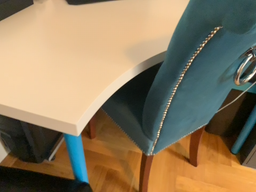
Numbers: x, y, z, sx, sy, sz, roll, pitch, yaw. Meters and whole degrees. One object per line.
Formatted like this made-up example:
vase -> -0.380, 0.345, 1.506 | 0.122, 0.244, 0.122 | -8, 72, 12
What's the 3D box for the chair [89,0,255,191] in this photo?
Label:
chair -> 0.170, -0.030, 0.840 | 0.420, 1.060, 0.540 | -20, 46, -26
